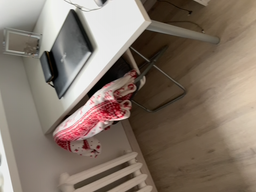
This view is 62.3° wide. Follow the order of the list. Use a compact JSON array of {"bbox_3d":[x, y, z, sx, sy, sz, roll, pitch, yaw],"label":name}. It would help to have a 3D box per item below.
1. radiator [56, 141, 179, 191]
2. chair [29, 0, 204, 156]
[{"bbox_3d":[-0.010,0.660,1.380,0.240,0.690,0.540,-48,62,36],"label":"radiator"},{"bbox_3d":[-0.050,-0.100,1.270,0.440,0.780,0.600,-38,68,40],"label":"chair"}]
